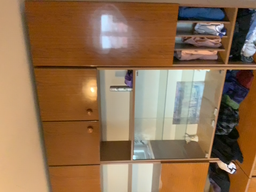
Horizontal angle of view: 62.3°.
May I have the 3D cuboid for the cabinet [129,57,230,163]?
[{"bbox_3d":[0.410,0.130,1.980,0.360,0.740,0.900,-101,12,-67],"label":"cabinet"}]
